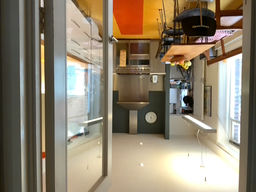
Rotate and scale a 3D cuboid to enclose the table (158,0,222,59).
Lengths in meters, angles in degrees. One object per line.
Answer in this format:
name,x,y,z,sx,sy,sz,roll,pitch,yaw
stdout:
table,0.880,-1.080,3.460,0.610,0.750,1.670,0,-177,2
